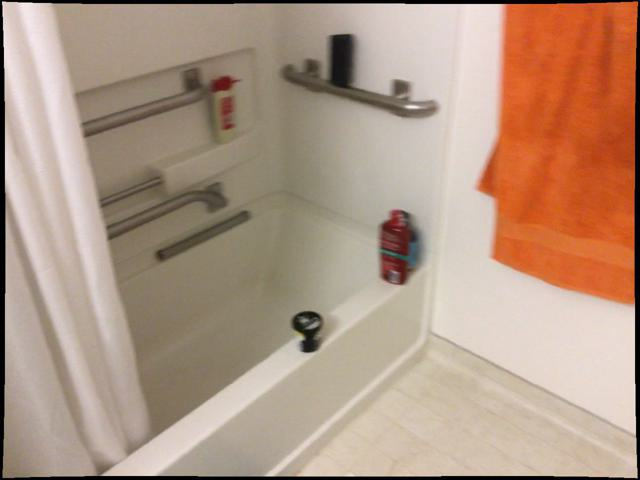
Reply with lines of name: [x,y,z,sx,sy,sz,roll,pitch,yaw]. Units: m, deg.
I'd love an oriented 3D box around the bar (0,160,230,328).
bar: [-0.609,-0.020,1.710,0.150,0.160,0.740,26,42,36]

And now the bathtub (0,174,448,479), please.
bathtub: [-0.380,0.370,1.670,0.750,0.440,1.470,26,42,36]

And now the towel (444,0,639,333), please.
towel: [0.649,-0.170,1.310,0.700,0.700,0.130,26,42,36]
